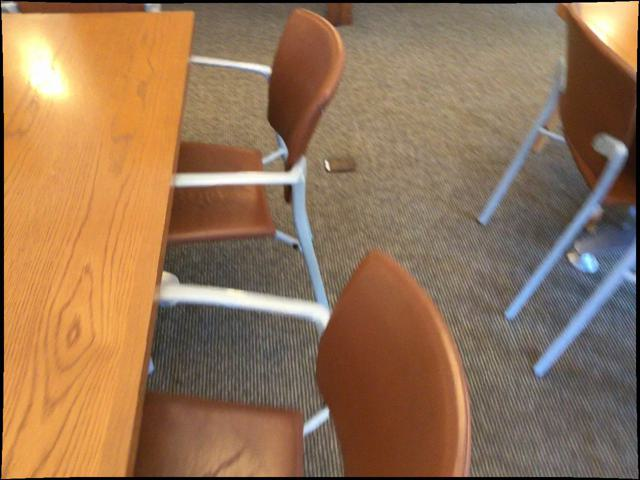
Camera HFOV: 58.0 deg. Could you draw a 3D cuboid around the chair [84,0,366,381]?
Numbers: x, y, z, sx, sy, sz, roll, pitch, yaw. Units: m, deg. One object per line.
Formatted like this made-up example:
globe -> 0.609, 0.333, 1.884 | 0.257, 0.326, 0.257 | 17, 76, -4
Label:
chair -> -0.209, -0.140, 1.560 | 0.509, 0.831, 0.621 | -6, 46, -5
